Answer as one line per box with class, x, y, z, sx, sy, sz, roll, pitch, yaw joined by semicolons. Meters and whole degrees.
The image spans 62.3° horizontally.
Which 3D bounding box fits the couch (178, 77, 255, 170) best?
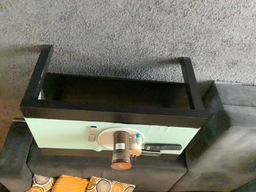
couch;0.980;0.260;1.650;0.950;0.410;0.650;4;142;-5
